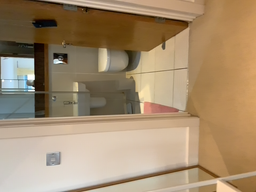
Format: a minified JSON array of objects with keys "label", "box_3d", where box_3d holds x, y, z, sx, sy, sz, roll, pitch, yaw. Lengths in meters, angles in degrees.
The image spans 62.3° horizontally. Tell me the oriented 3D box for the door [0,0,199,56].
[{"label":"door","box_3d":[-0.550,-0.650,2.010,0.970,2.200,0.230,180,89,-69]}]
